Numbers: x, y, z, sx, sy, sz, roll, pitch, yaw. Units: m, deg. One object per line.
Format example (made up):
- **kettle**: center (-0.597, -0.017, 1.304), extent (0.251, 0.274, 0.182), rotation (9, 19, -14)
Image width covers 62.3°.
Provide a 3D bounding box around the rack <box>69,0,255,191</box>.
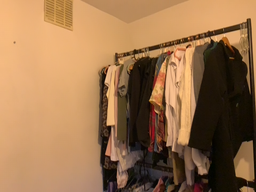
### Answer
- **rack**: center (0.320, 0.580, 1.760), extent (1.310, 2.330, 0.890), rotation (-4, -4, 35)
